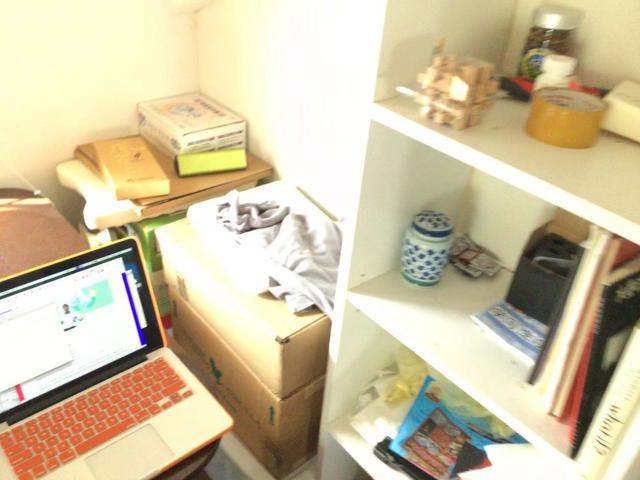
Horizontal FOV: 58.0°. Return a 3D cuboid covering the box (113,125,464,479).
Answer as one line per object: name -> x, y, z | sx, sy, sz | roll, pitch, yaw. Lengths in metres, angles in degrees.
box -> -0.100, 0.150, 1.360 | 0.420, 0.580, 0.640 | -24, 42, -35

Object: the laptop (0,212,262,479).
laptop -> -0.340, 0.190, 0.870 | 0.340, 0.240, 0.380 | -24, 42, -35

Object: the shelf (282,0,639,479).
shelf -> 0.280, 0.160, 0.920 | 0.390, 1.640, 0.600 | -24, 42, -35
